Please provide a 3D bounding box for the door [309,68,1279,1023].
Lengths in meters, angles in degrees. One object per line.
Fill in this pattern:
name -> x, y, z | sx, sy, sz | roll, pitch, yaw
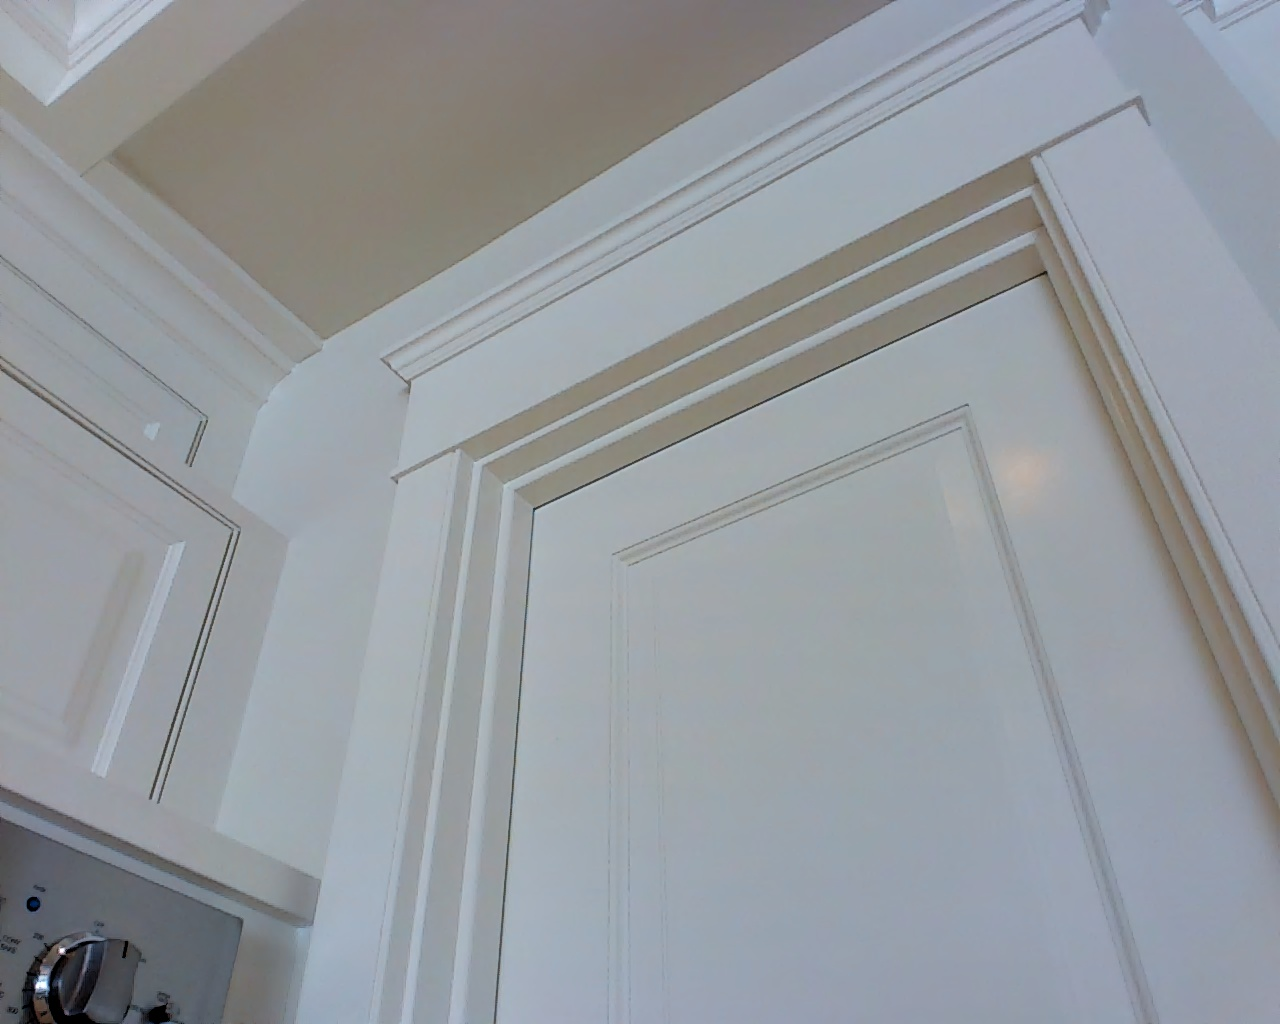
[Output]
door -> 0.110, 0.670, 0.350 | 0.780, 2.361, 0.130 | -24, -47, 24
